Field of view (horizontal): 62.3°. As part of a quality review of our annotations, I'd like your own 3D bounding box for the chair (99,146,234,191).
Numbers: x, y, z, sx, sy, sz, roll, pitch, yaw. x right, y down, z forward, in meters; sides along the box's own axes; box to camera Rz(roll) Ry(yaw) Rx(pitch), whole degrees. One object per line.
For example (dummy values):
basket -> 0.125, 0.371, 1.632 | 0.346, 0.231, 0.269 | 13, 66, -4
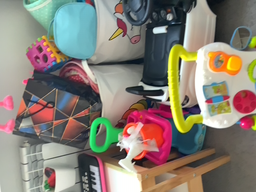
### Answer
chair -> 0.180, 0.440, 0.940 | 0.330, 0.480, 0.300 | -11, 86, 55
